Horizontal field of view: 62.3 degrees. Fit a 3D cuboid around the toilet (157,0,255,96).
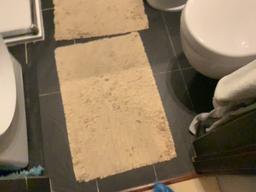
[{"bbox_3d":[0.480,-0.300,1.010,0.540,0.300,0.410,-13,72,-7],"label":"toilet"}]
